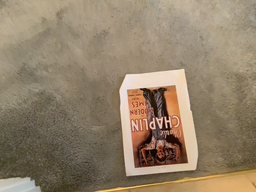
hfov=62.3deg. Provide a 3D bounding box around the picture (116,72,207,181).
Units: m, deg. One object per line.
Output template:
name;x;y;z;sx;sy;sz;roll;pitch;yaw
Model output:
picture;0.090;0.080;0.620;0.230;0.010;0.300;-4;76;-1
